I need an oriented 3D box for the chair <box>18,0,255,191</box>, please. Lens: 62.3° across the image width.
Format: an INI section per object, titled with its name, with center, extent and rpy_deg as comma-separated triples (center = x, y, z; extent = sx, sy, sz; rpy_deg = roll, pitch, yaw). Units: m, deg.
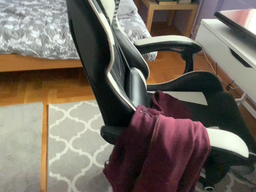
[chair]
center = 0.200, -0.020, 0.880
extent = 0.800, 1.210, 0.700
rpy_deg = 5, 42, -3
